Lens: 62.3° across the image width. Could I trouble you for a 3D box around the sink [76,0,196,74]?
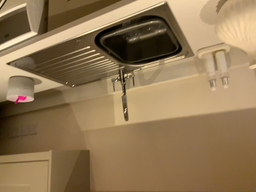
[{"bbox_3d":[0.070,-0.310,1.040,0.400,0.180,0.500,-11,163,25],"label":"sink"}]
